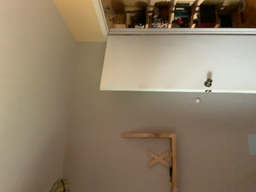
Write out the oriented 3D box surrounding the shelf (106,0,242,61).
[{"bbox_3d":[0.770,-1.250,4.190,1.380,2.210,0.530,83,-171,-75],"label":"shelf"}]
